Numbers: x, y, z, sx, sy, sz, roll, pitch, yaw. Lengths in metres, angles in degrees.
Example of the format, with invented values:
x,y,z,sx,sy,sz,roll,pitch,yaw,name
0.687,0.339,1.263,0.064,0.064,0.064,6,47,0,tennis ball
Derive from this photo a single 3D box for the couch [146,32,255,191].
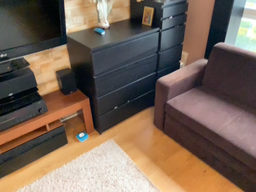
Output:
x,y,z,sx,sy,sz,roll,pitch,yaw,name
1.000,0.120,1.900,0.870,0.850,1.480,-25,41,-30,couch
